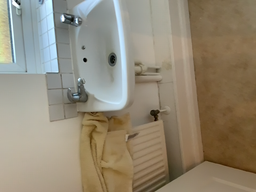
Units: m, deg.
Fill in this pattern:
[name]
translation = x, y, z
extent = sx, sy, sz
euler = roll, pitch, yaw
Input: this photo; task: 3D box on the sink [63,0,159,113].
[sink]
translation = -0.080, -0.170, 0.890
extent = 0.300, 0.210, 0.450
euler = -7, 89, 45
